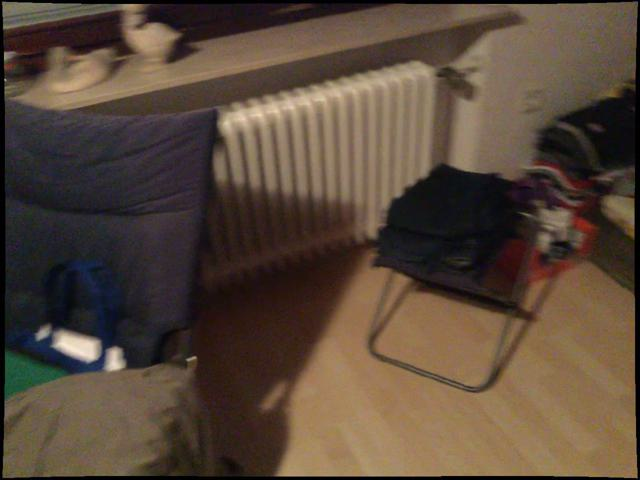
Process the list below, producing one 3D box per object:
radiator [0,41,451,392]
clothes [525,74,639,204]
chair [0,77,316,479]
[{"bbox_3d":[-0.370,-0.100,1.870,1.659,0.660,0.260,-19,39,-16],"label":"radiator"},{"bbox_3d":[1.019,-0.370,2.050,0.370,0.240,0.370,-19,39,-16],"label":"clothes"},{"bbox_3d":[-0.529,0.190,1.000,0.719,0.530,1.020,8,40,17],"label":"chair"}]
